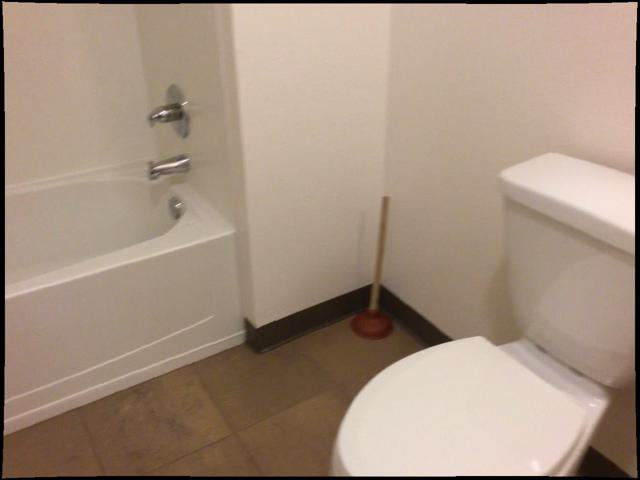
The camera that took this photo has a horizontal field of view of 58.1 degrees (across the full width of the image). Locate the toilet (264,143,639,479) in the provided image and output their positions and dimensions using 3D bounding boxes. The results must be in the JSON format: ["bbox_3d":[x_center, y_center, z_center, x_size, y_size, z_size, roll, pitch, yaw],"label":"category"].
[{"bbox_3d":[0.349,0.351,1.180,0.749,0.872,0.450,-18,33,-28],"label":"toilet"}]

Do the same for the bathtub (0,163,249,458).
[{"bbox_3d":[-1.087,0.251,1.810,1.507,0.471,0.760,-18,33,-28],"label":"bathtub"}]
